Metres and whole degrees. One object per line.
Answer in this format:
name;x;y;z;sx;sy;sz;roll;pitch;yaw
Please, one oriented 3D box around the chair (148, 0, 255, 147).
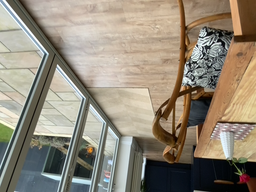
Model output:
chair;0.450;-0.200;1.280;0.530;0.870;0.470;0;152;15
